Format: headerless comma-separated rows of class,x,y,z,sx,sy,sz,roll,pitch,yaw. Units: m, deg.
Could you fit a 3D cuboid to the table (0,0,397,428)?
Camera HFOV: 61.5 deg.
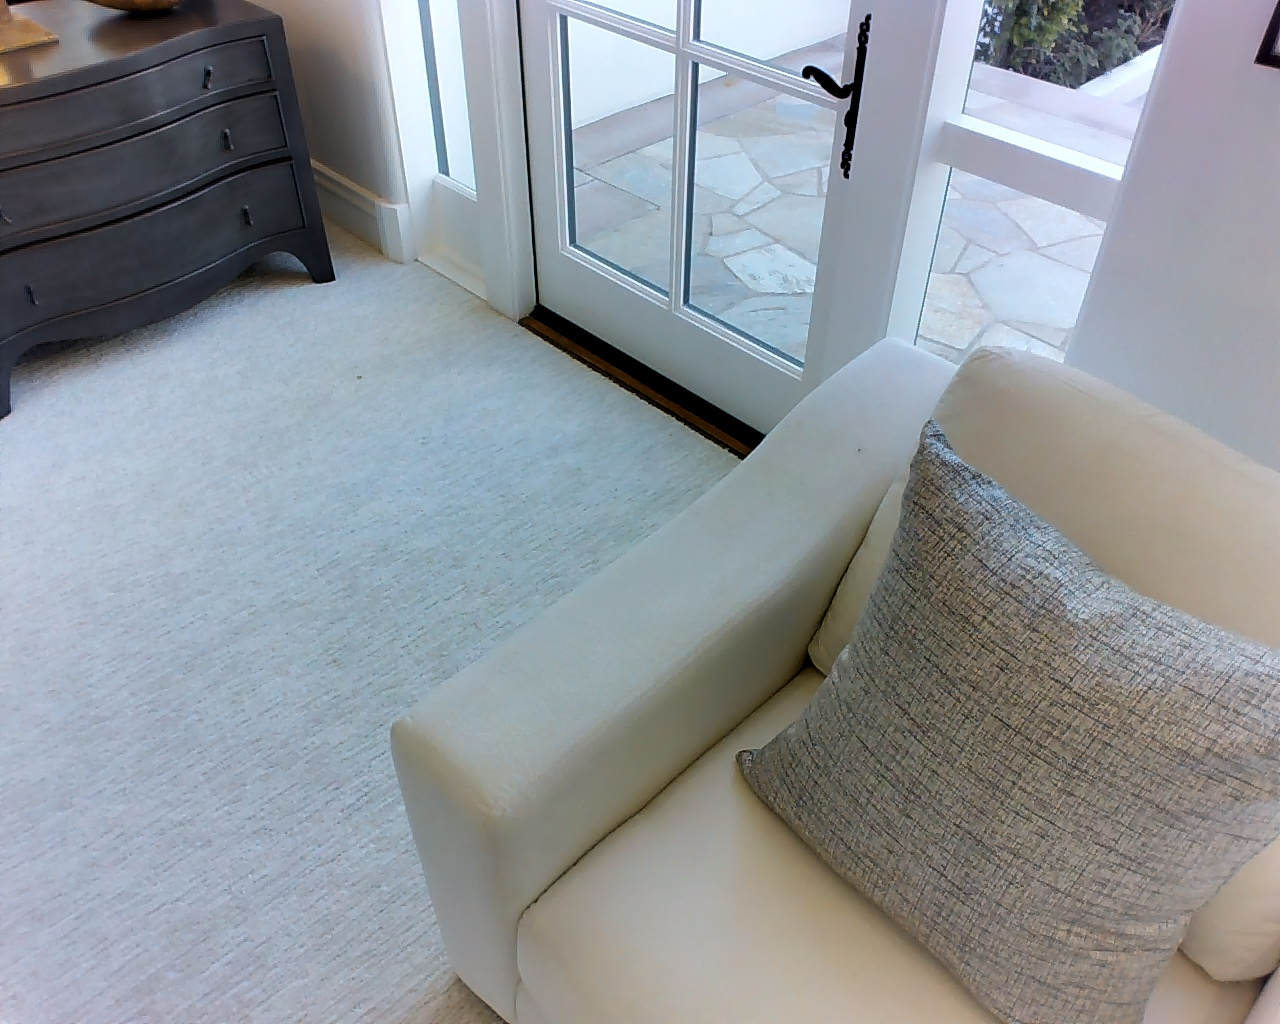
table,-1.340,-0.890,2.860,1.240,0.810,0.420,-33,52,-31

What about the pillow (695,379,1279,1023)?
pillow,0.410,0.240,1.170,0.270,0.490,0.540,-30,82,-31
